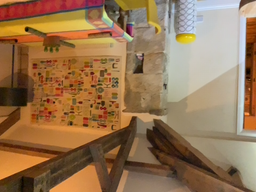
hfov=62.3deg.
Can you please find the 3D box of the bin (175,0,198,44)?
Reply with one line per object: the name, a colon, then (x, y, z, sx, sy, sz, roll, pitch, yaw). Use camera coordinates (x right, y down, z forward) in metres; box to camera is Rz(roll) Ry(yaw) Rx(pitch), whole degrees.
bin: (0.890, -1.200, 3.210, 0.250, 0.710, 0.400, 3, -179, 24)
